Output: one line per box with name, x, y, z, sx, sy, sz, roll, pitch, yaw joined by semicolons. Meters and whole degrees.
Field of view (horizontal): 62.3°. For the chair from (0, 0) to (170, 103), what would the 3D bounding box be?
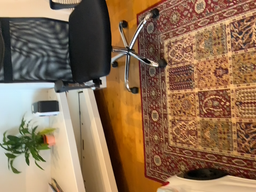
chair;-0.410;-0.330;1.490;0.820;1.090;0.680;-8;86;53
